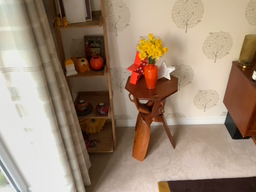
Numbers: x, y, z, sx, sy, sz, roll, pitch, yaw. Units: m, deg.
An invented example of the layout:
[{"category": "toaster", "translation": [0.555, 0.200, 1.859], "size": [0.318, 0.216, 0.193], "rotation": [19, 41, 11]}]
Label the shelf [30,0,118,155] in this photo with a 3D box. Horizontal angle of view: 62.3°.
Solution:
[{"category": "shelf", "translation": [-0.310, -0.170, 1.570], "size": [0.370, 1.430, 0.350], "rotation": [-2, 36, 1]}]

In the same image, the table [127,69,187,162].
[{"category": "table", "translation": [0.200, 0.170, 1.740], "size": [0.390, 0.660, 0.390], "rotation": [-2, 36, 1]}]
